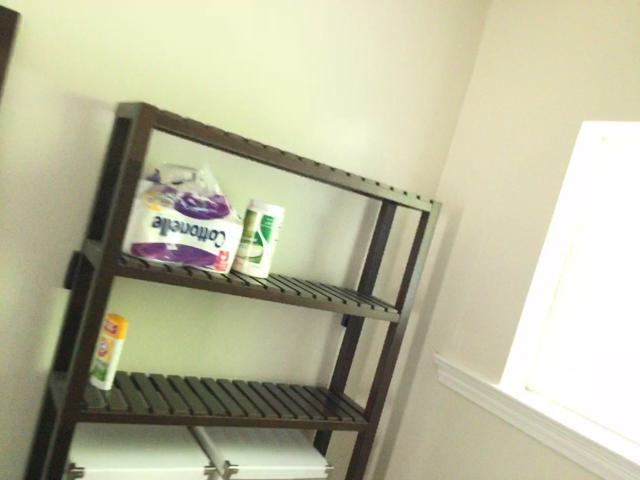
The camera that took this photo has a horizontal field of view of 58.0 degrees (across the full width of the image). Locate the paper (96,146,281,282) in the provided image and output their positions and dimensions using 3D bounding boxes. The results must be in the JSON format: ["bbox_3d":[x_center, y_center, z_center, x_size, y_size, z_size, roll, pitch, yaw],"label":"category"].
[{"bbox_3d":[-0.250,-0.050,1.090,0.250,0.180,0.200,14,2,-35],"label":"paper"}]
